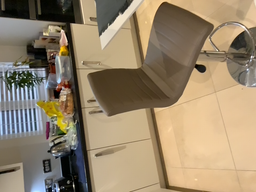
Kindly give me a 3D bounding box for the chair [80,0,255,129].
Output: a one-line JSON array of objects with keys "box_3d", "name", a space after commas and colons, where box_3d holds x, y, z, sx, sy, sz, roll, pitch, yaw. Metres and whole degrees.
[{"box_3d": [0.350, -0.200, 1.160, 0.400, 1.080, 0.470, 53, 137, 44], "name": "chair"}]
